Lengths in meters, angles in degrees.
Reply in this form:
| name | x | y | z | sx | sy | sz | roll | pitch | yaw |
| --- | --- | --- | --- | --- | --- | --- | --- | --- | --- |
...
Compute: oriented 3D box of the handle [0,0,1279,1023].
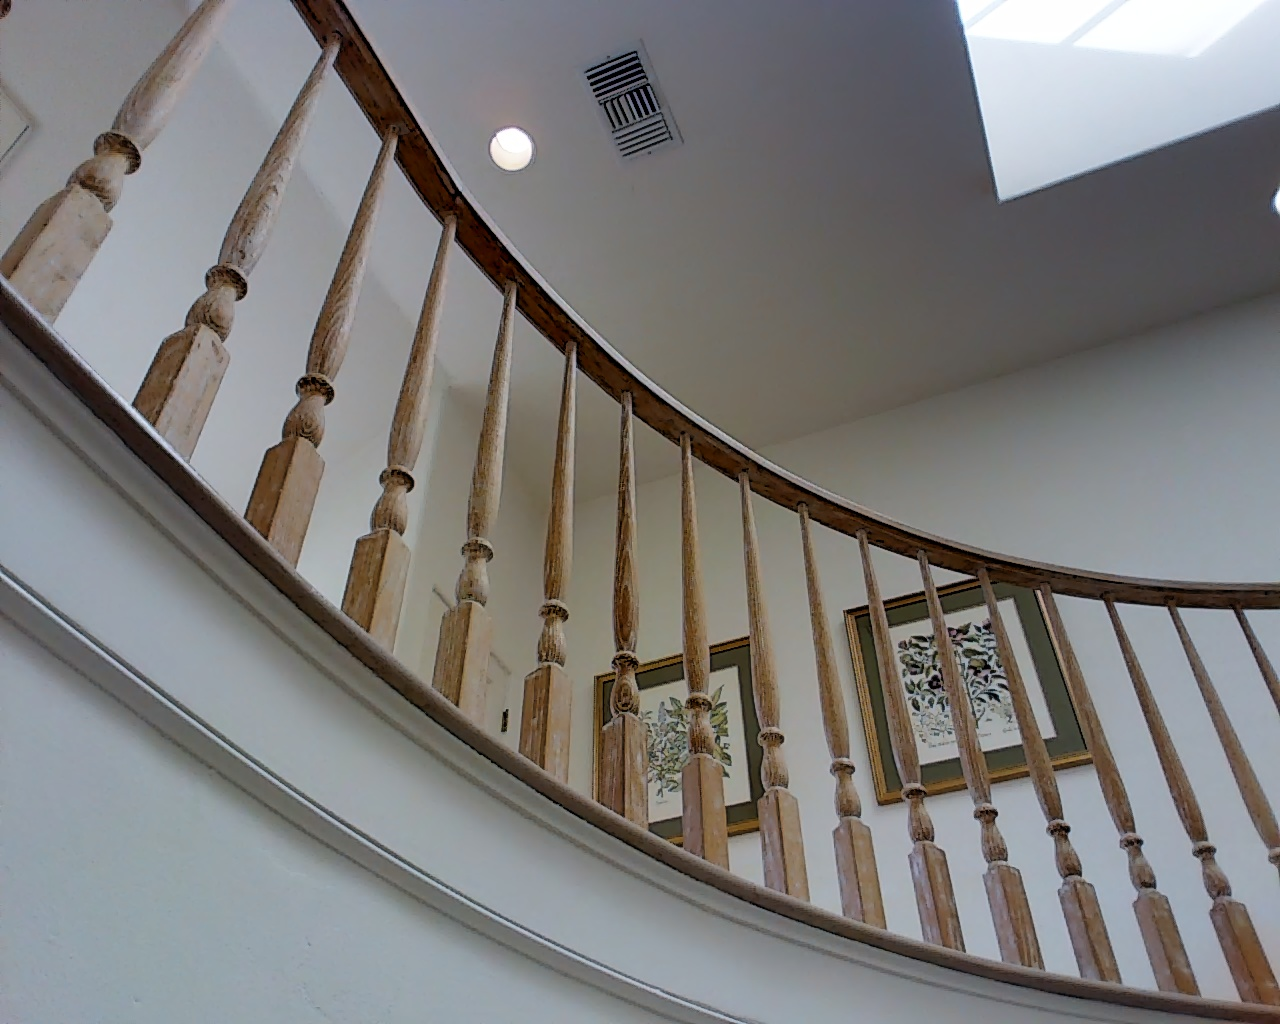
| name | x | y | z | sx | sy | sz | roll | pitch | yaw |
| --- | --- | --- | --- | --- | --- | --- | --- | --- | --- |
| handle | 1.200 | 0.120 | 1.720 | 4.089 | 0.960 | 1.200 | 8 | -45 | -8 |
